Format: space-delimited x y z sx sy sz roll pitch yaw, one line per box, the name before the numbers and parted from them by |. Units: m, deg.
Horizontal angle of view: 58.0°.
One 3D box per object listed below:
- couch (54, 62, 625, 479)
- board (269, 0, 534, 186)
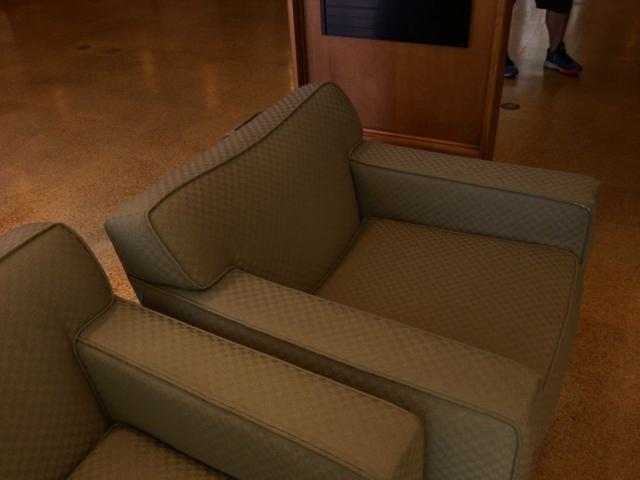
couch | 0.140 0.120 1.400 0.880 0.770 0.880 12 38 25
board | 0.190 -0.870 1.520 0.740 1.460 0.150 12 38 25
